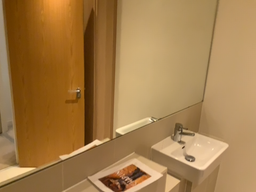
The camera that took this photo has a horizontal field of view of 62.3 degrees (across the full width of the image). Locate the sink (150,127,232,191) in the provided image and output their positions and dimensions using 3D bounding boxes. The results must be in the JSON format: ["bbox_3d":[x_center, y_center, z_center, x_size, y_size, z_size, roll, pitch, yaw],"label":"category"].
[{"bbox_3d":[0.440,0.390,1.450,0.340,0.130,0.490,17,21,41],"label":"sink"}]
